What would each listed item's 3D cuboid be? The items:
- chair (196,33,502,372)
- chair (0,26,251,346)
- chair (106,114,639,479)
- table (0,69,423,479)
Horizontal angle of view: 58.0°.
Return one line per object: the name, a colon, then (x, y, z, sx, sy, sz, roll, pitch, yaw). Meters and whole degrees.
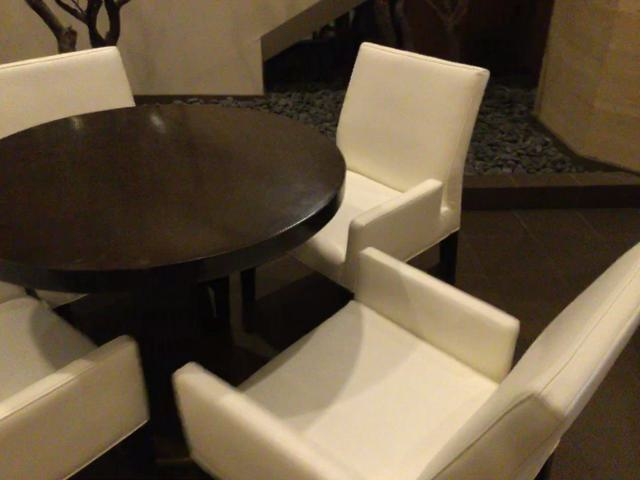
chair: (0.120, -0.180, 1.950, 0.610, 0.800, 0.700, 25, 42, 38)
chair: (-0.720, -0.230, 1.790, 0.670, 0.640, 0.650, 25, 42, 38)
chair: (0.160, 0.290, 1.130, 0.720, 0.770, 0.660, 25, 42, 38)
table: (-0.370, 0.130, 1.550, 0.890, 0.820, 0.910, 24, 42, 38)
